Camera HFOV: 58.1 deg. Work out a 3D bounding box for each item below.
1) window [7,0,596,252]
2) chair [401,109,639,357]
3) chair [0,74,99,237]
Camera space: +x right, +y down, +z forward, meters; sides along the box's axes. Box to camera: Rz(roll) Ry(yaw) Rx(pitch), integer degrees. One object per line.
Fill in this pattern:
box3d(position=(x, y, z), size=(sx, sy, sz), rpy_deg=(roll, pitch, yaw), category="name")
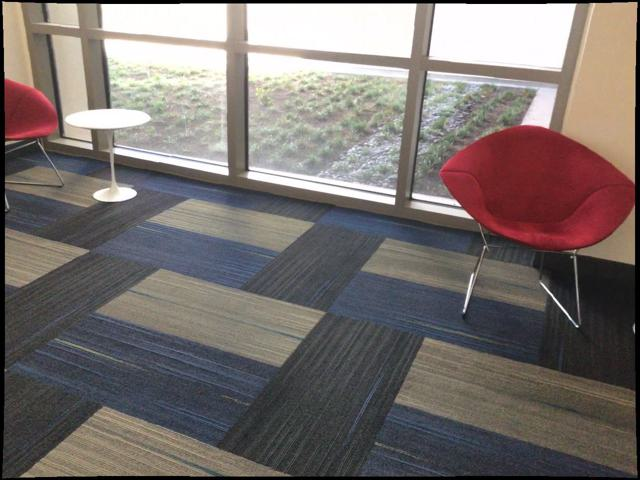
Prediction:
box3d(position=(-0.449, -1.644, 3.460), size=(3.932, 2.856, 0.210), rpy_deg=(12, 28, 21), category="window")
box3d(position=(0.938, -0.100, 2.650), size=(0.868, 0.742, 0.790), rpy_deg=(12, 28, 21), category="chair")
box3d(position=(-2.124, -0.592, 3.620), size=(0.988, 0.711, 0.830), rpy_deg=(11, 28, 19), category="chair")
